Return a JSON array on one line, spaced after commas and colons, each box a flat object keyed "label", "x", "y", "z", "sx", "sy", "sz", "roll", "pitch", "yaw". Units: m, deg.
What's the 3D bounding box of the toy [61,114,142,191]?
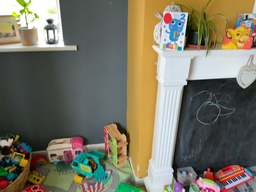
[{"label": "toy", "x": -0.260, "y": 0.490, "z": 1.960, "sx": 0.640, "sy": 0.390, "sz": 0.490, "roll": -5, "pitch": 26, "yaw": -14}]
